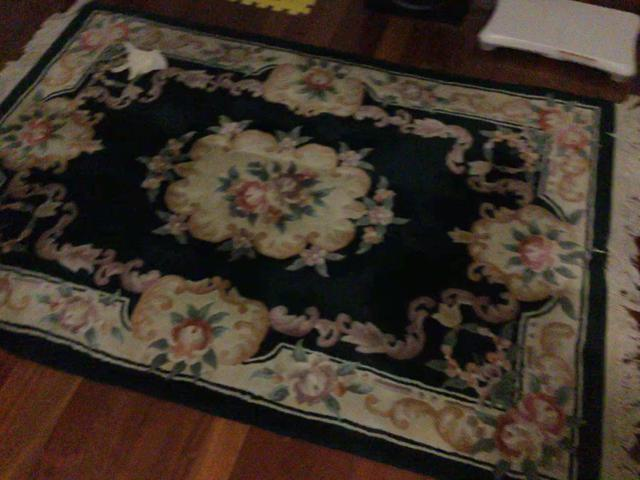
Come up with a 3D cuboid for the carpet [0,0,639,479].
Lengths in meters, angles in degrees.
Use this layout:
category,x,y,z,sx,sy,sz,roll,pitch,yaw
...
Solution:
category,x,y,z,sx,sy,sz,roll,pitch,yaw
carpet,-0.160,-0.160,1.570,2.000,0.070,1.240,16,58,11
